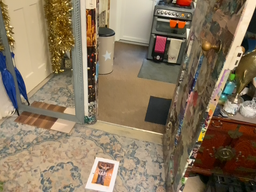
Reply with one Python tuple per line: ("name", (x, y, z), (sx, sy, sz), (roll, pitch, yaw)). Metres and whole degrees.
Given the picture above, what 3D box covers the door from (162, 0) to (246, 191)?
("door", (0.410, -0.220, 1.310), (0.030, 1.940, 0.890), (9, 34, 5))
